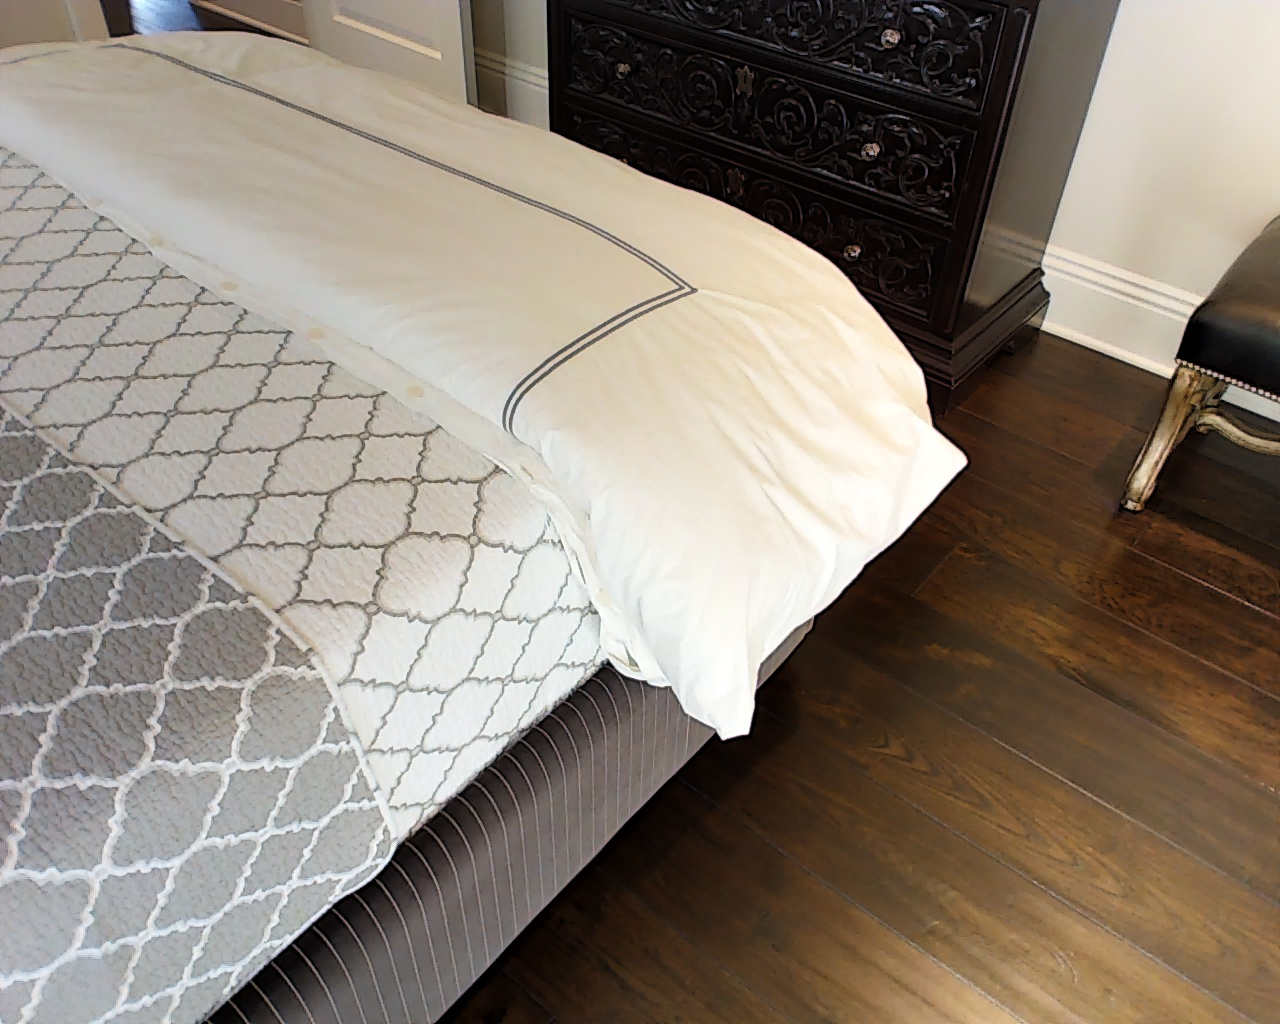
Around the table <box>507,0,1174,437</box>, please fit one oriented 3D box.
[{"bbox_3d":[0.400,-1.010,2.610,1.380,1.030,0.620,29,49,28],"label":"table"}]

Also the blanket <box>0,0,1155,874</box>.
[{"bbox_3d":[-0.450,-0.440,1.780,2.170,0.520,0.770,29,49,28],"label":"blanket"}]

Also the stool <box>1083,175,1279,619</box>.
[{"bbox_3d":[1.430,-0.210,2.110,0.690,0.590,0.690,30,50,29],"label":"stool"}]
